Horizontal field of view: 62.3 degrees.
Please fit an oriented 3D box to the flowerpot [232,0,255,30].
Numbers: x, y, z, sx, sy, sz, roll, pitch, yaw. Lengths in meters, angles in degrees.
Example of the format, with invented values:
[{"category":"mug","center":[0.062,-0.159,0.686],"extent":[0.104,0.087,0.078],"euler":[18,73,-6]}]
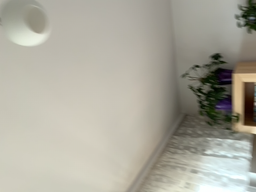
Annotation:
[{"category":"flowerpot","center":[1.090,-0.740,1.900],"extent":[0.200,0.270,0.220],"euler":[-43,-52,-49]}]
